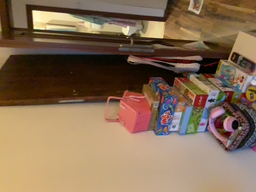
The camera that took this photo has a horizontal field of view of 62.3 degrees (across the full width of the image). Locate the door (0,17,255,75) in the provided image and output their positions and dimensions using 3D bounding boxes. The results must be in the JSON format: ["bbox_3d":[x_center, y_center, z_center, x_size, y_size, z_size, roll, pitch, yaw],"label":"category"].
[{"bbox_3d":[0.000,-0.410,1.710,0.870,2.020,0.160,-120,34,-61],"label":"door"}]
